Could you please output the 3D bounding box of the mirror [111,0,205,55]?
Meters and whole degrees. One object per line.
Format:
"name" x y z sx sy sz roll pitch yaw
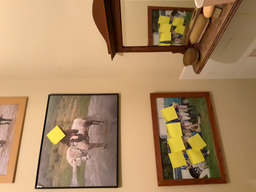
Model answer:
"mirror" 0.110 -0.320 0.900 0.410 0.340 0.060 90 179 -67
